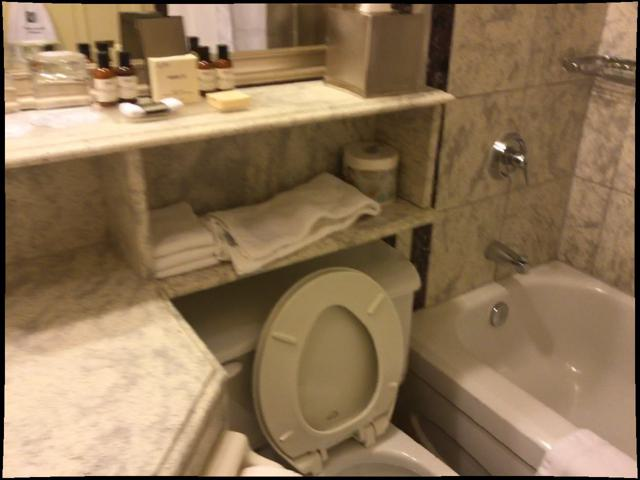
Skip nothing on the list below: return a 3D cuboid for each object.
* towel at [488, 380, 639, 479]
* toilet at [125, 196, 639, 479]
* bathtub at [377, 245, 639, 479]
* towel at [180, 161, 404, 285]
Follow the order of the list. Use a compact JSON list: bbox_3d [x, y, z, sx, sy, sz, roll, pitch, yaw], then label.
[{"bbox_3d":[0.649,0.551,1.140,0.180,0.170,0.630,-18,32,-30],"label":"towel"},{"bbox_3d":[0.080,0.440,1.200,0.630,0.761,0.680,-18,32,-30],"label":"toilet"},{"bbox_3d":[0.899,0.571,1.350,0.770,0.410,1.430,-18,32,-30],"label":"bathtub"},{"bbox_3d":[-0.050,-0.050,1.140,0.380,0.080,0.210,-18,32,-30],"label":"towel"}]
